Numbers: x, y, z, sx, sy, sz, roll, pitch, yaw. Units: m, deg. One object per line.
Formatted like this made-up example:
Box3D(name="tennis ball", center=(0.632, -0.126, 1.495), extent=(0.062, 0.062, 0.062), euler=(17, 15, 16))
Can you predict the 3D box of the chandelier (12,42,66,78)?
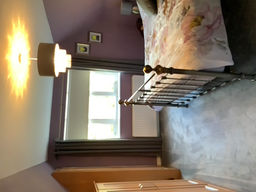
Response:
Box3D(name="chandelier", center=(-0.850, -0.340, 2.080), extent=(0.250, 0.430, 0.260), euler=(153, -61, -76))
